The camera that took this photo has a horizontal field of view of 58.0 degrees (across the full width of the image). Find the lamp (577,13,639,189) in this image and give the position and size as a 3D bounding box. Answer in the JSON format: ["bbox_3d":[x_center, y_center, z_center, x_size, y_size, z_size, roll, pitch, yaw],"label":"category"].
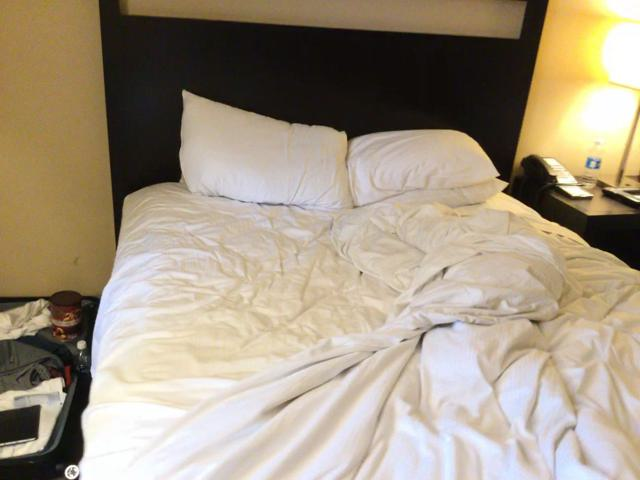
[{"bbox_3d":[1.320,-0.580,2.400,0.220,0.670,0.290,-4,22,-13],"label":"lamp"}]

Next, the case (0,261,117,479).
[{"bbox_3d":[-1.100,0.420,1.850,0.750,0.300,0.950,-4,22,-13],"label":"case"}]
